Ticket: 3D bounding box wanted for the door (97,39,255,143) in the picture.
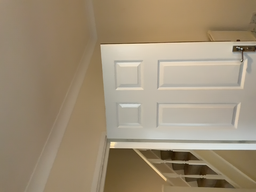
[{"bbox_3d":[0.780,-0.010,1.550,0.030,1.970,0.790,-81,-10,-70],"label":"door"}]
